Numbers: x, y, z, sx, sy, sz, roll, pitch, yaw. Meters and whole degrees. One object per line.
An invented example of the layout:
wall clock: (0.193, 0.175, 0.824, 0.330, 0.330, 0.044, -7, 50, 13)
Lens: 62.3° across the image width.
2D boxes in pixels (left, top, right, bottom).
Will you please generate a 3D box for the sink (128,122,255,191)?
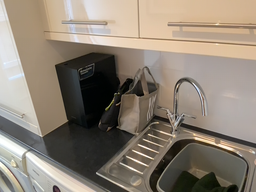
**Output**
sink: (0.330, 0.370, 0.930, 0.410, 0.170, 0.540, 16, 32, 34)
